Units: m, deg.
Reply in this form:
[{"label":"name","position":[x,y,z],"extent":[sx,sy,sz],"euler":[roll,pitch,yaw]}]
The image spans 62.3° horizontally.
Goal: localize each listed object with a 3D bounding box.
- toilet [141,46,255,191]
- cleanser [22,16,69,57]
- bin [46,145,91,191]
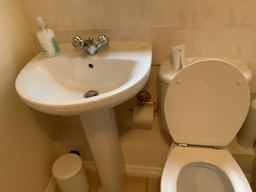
[{"label":"toilet","position":[0.310,0.280,0.940],"extent":[0.390,0.790,0.640],"euler":[2,36,11]},{"label":"cleanser","position":[-0.380,-0.280,1.000],"extent":[0.130,0.150,0.120],"euler":[4,37,14]},{"label":"bin","position":[-0.330,0.450,1.230],"extent":[0.180,0.250,0.180],"euler":[-7,36,-2]}]
